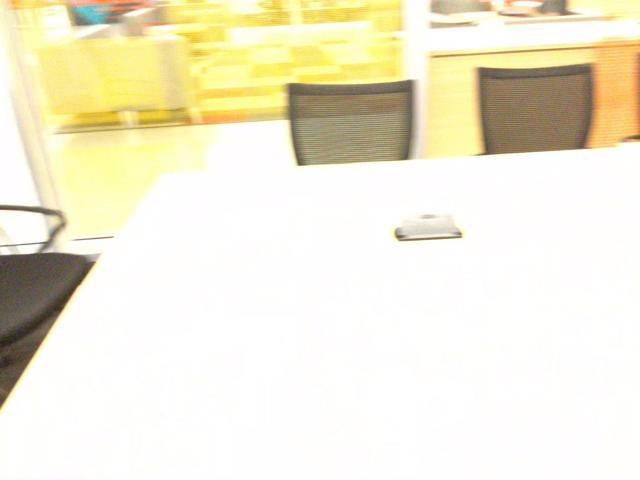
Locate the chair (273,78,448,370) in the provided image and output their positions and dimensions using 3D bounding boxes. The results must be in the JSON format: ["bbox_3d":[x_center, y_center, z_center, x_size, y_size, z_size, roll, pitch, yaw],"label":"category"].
[{"bbox_3d":[0.110,-0.080,2.010,0.480,0.850,0.560,-2,24,-2],"label":"chair"}]

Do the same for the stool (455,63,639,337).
[{"bbox_3d":[0.840,-0.170,2.160,0.460,0.870,0.540,-3,24,-3],"label":"stool"}]
